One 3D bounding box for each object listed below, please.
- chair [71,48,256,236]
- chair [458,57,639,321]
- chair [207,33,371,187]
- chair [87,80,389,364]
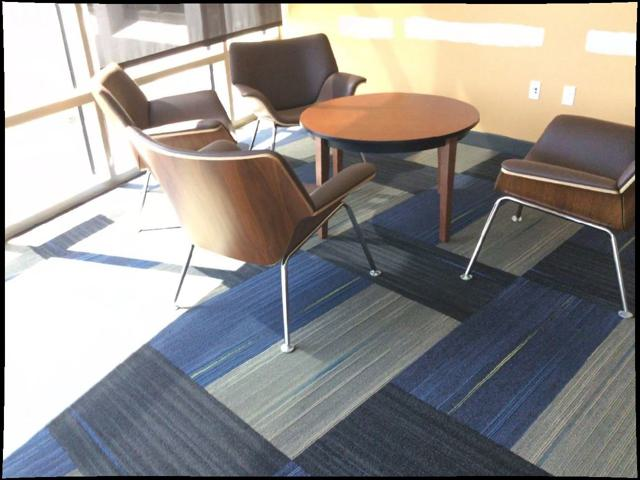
[{"bbox_3d":[-0.848,-0.602,3.300,0.798,0.741,0.850,-8,30,-9],"label":"chair"},{"bbox_3d":[1.147,-0.271,2.420,0.809,0.751,0.800,16,35,31],"label":"chair"},{"bbox_3d":[-0.209,-0.902,3.850,0.858,0.721,0.770,-12,30,-16],"label":"chair"},{"bbox_3d":[-0.289,-0.150,2.370,0.859,0.741,0.760,18,35,33],"label":"chair"}]
